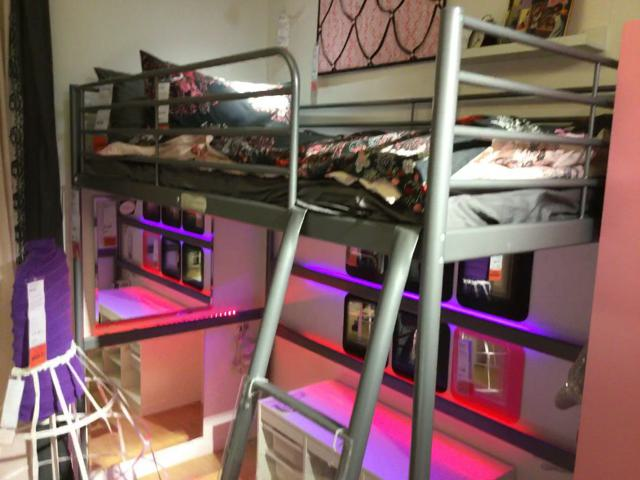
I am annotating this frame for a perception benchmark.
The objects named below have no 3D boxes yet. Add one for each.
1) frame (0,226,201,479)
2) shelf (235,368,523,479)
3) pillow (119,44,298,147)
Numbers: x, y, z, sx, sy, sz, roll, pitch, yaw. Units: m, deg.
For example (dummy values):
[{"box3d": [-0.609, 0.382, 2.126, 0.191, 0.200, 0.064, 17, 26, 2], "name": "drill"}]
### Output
[{"box3d": [-0.900, 0.500, 2.080, 0.710, 1.030, 0.610, -5, 8, -40], "name": "frame"}, {"box3d": [0.160, 0.990, 2.290, 0.470, 0.600, 1.100, -5, 8, -40], "name": "shelf"}, {"box3d": [-0.460, -0.570, 2.410, 0.600, 0.320, 0.420, -5, 8, -40], "name": "pillow"}]
